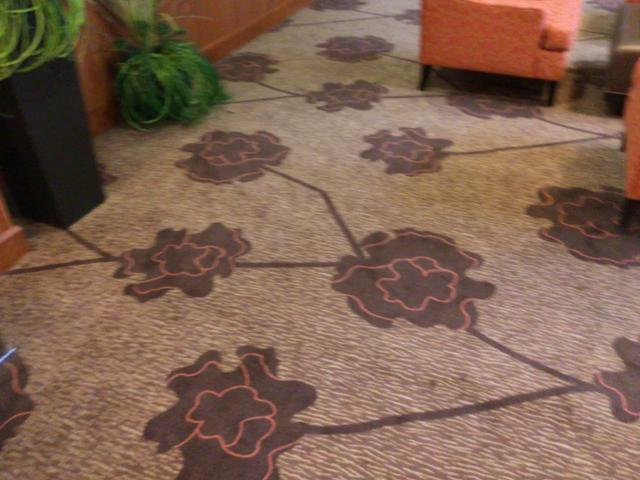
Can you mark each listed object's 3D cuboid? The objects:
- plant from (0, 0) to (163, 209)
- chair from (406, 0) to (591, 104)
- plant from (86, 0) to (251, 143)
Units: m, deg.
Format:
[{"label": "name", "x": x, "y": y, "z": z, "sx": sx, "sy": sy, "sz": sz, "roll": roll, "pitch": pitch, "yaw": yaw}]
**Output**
[{"label": "plant", "x": -1.020, "y": -0.700, "z": 2.070, "sx": 0.320, "sy": 1.020, "sz": 0.560, "roll": 5, "pitch": 35, "yaw": 26}, {"label": "chair", "x": 1.050, "y": -1.400, "z": 3.320, "sx": 0.900, "sy": 0.960, "sz": 0.770, "roll": 5, "pitch": 35, "yaw": 26}, {"label": "plant", "x": -0.790, "y": -1.140, "z": 3.060, "sx": 0.500, "sy": 1.030, "sz": 0.600, "roll": 12, "pitch": 37, "yaw": 21}]
